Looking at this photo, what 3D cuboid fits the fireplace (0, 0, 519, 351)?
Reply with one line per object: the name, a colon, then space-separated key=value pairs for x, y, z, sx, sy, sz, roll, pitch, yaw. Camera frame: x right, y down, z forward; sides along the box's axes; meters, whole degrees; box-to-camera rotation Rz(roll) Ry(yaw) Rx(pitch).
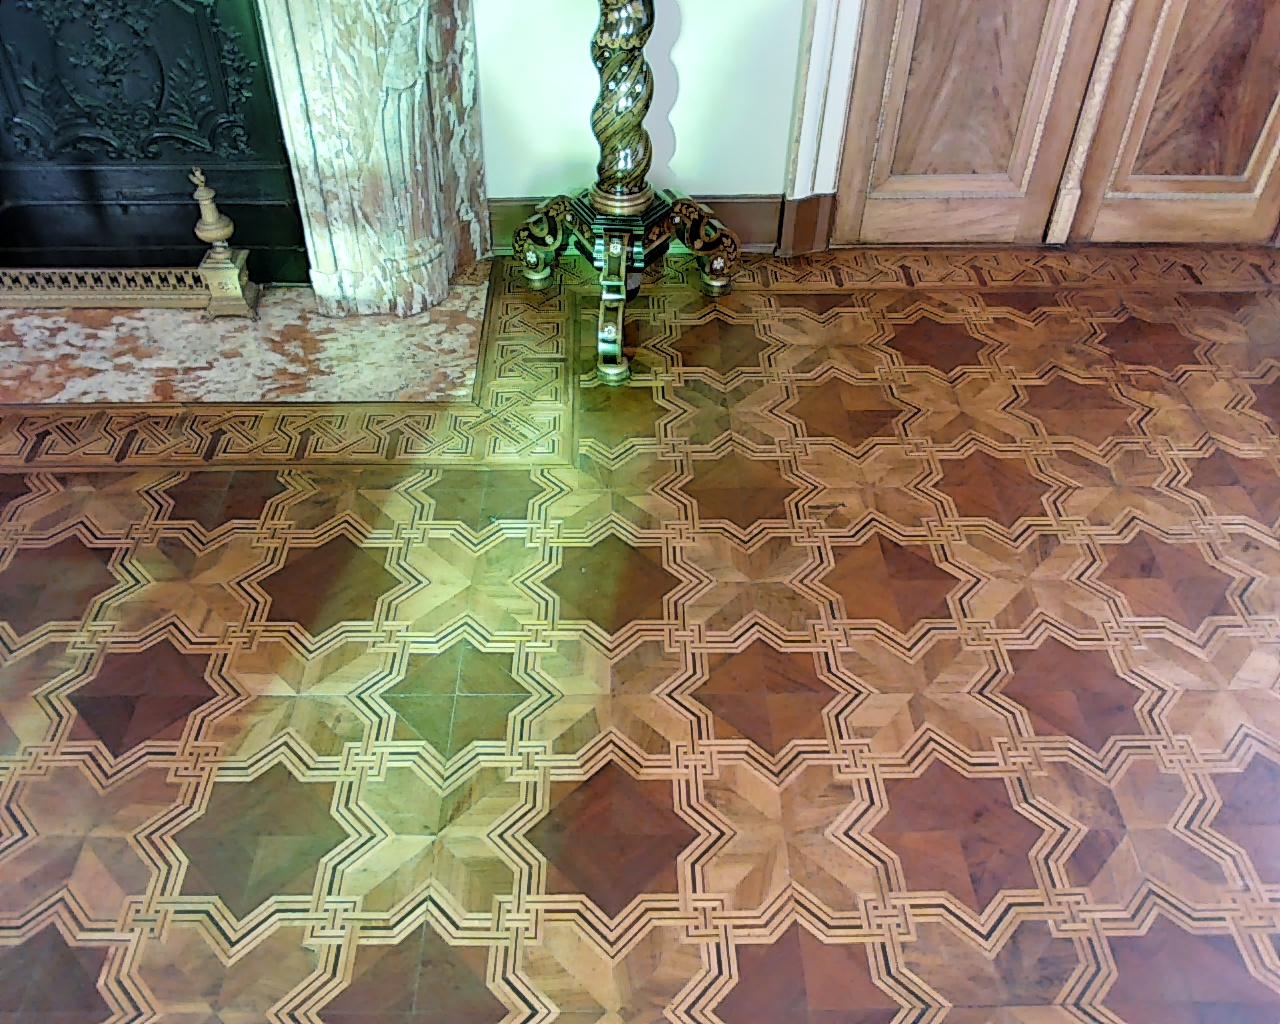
fireplace: x=-1.590 y=-1.240 z=2.690 sx=2.419 sy=1.680 sz=0.460 roll=0 pitch=42 yaw=-1
